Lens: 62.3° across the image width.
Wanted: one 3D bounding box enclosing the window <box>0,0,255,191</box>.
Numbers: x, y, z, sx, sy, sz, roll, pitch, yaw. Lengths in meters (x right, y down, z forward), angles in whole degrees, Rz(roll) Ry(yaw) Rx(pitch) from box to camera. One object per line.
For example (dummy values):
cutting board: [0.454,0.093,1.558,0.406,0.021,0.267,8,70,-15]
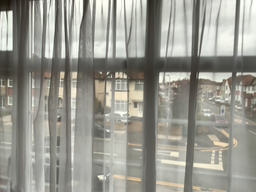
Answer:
window: [0.170,0.160,0.970,2.680,1.510,0.110,2,3,13]
